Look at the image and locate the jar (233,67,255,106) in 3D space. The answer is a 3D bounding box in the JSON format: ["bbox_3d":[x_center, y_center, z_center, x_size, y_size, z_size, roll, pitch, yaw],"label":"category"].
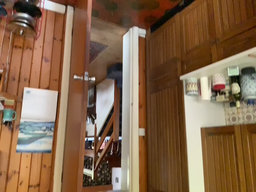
[{"bbox_3d":[1.030,-0.070,1.770,0.160,0.270,0.200,6,166,-28],"label":"jar"}]
